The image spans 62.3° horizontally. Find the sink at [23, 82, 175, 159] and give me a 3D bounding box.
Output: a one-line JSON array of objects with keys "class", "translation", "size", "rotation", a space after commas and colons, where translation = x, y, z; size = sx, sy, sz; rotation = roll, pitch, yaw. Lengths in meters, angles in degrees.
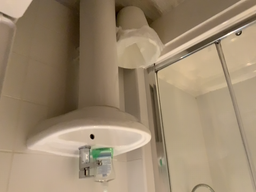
[{"class": "sink", "translation": [-0.100, 0.140, 0.840], "size": [0.360, 0.140, 0.450], "rotation": [-23, 149, 38]}]

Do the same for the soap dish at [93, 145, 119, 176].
[{"class": "soap dish", "translation": [-0.100, 0.290, 0.950], "size": [0.070, 0.120, 0.090], "rotation": [-24, 149, 39]}]
